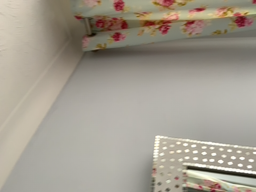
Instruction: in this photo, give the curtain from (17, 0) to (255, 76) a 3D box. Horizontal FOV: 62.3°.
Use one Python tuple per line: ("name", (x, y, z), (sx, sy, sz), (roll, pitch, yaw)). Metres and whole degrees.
("curtain", (0.660, -0.330, 0.920), (0.390, 2.260, 0.290), (78, -162, -44))
